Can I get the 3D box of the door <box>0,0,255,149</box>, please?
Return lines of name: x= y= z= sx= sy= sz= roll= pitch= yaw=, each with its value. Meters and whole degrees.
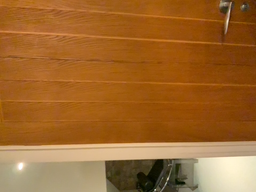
door: x=0.360 y=-0.090 z=0.950 sx=0.040 sy=2.000 sz=0.680 roll=-112 pitch=24 yaw=-69
